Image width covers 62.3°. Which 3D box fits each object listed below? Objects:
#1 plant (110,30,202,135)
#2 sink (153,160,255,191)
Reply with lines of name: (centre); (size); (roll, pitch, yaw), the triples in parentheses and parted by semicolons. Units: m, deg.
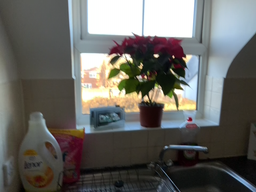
plant: (0.140, -0.090, 1.300); (0.460, 0.540, 0.320); (-1, 9, -14)
sink: (0.400, 0.510, 1.020); (0.400, 0.150, 0.510); (-1, 9, -13)
